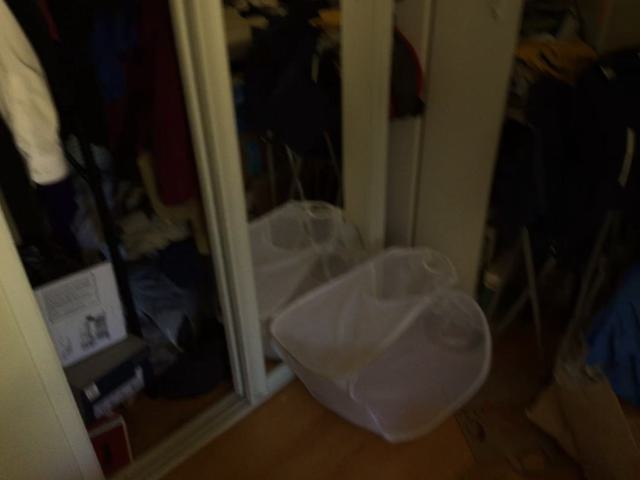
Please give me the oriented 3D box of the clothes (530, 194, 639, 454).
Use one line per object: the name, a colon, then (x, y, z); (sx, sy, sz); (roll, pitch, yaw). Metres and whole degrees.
clothes: (0.920, 0.190, 1.400); (0.590, 0.410, 0.490); (-27, 38, -32)
